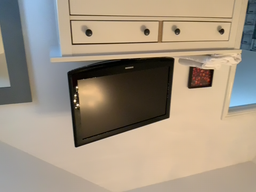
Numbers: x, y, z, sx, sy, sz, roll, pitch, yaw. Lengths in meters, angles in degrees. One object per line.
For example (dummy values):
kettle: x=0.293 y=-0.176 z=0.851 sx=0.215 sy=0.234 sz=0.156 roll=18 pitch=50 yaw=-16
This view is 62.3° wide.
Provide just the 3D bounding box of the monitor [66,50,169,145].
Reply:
monitor: x=-0.030 y=-0.010 z=1.460 sx=0.740 sy=0.550 sz=0.030 roll=-11 pitch=-157 yaw=-30
